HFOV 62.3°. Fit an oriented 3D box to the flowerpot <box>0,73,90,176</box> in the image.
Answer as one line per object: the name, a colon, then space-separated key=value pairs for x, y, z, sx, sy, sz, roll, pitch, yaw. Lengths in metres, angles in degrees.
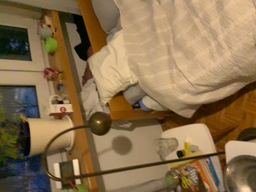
flowerpot: x=-0.770 y=0.160 z=1.040 sx=0.320 sy=1.030 sz=0.450 roll=-41 pitch=58 yaw=48

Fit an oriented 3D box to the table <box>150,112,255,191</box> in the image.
table: x=0.450 y=0.360 z=1.290 sx=0.410 sy=0.370 sz=0.380 roll=-38 pitch=61 yaw=49
